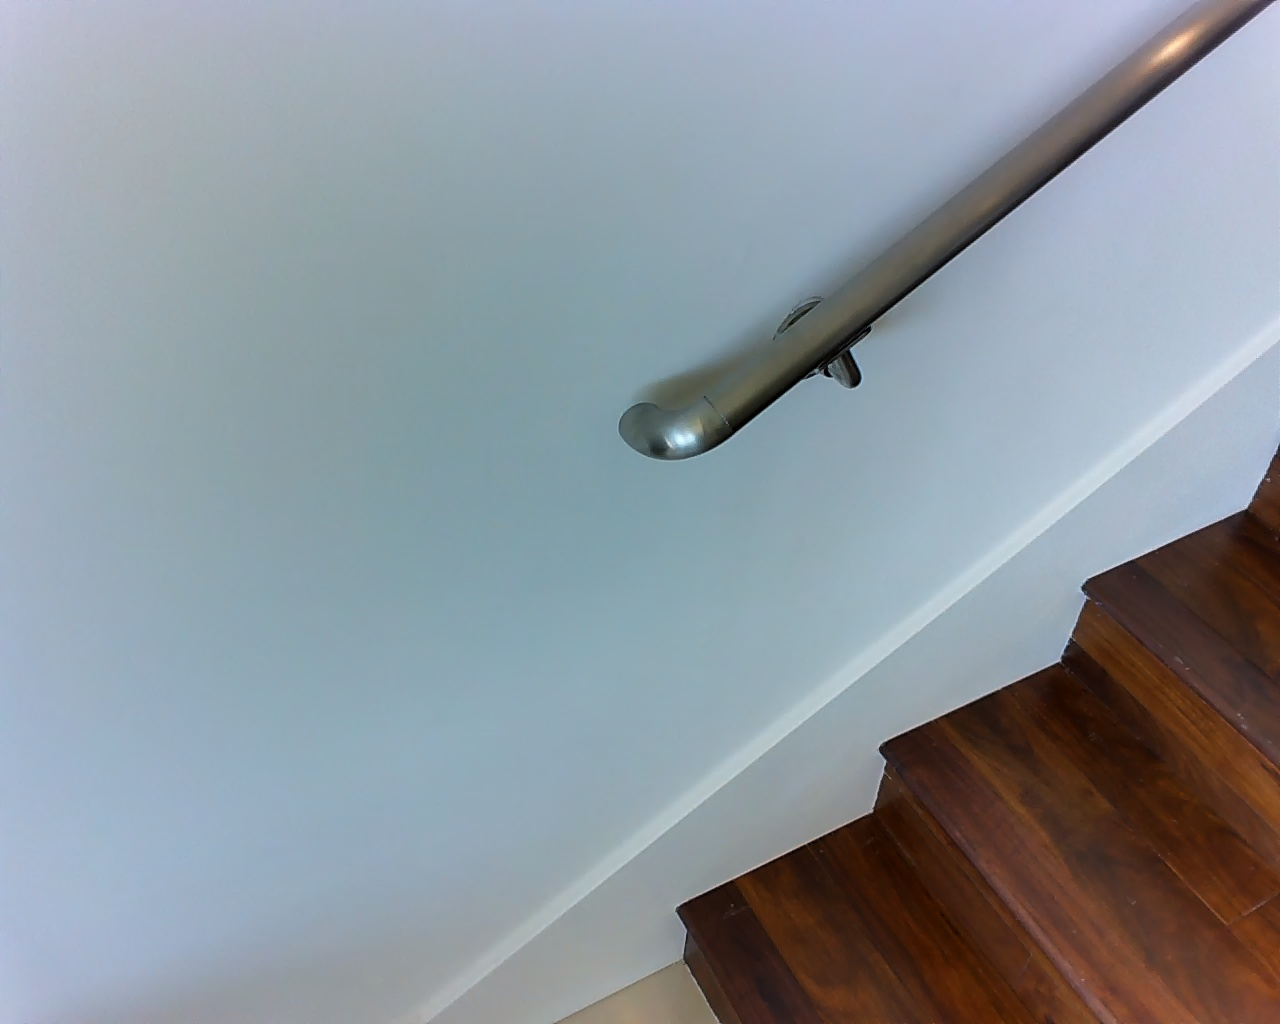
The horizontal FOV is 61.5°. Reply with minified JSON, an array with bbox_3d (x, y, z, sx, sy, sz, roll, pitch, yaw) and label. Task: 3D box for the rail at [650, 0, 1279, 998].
[{"bbox_3d":[0.700,-0.210,1.170,1.460,1.540,0.140,-19,45,-20],"label":"rail"}]
